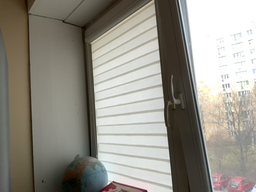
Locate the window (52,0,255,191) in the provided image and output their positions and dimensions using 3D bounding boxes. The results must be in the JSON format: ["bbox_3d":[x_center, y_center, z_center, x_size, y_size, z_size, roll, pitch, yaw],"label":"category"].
[{"bbox_3d":[0.080,-0.080,1.110,0.320,1.480,1.520,1,-8,-41],"label":"window"}]

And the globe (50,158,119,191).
[{"bbox_3d":[-0.290,0.610,1.420,0.350,0.300,0.300,1,-8,-40],"label":"globe"}]
